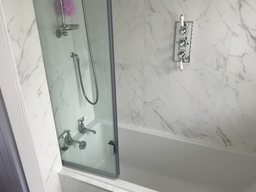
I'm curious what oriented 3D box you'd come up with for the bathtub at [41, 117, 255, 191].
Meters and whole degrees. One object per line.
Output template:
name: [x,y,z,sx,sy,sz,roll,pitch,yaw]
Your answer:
bathtub: [0.270,0.730,1.620,1.610,0.580,0.730,9,26,22]
